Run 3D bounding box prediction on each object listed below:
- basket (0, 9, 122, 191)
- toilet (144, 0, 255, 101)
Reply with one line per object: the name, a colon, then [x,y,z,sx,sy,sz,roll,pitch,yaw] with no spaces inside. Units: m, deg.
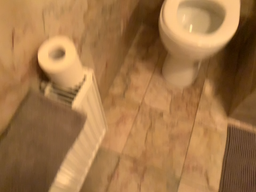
basket: [-0.220,0.190,0.790,0.170,0.750,0.560,19,63,10]
toilet: [0.390,-0.460,1.090,0.370,0.760,0.600,21,63,11]
